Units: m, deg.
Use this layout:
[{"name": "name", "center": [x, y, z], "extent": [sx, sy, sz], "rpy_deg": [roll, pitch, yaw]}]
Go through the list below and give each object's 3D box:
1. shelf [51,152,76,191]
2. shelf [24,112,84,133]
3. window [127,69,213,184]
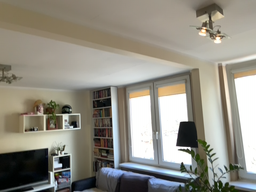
[{"name": "shelf", "center": [-1.370, 1.750, 4.490], "extent": [0.410, 1.030, 0.290], "rpy_deg": [3, -9, -42]}, {"name": "shelf", "center": [-1.540, 0.550, 4.540], "extent": [1.200, 0.370, 0.240], "rpy_deg": [3, -9, -42]}, {"name": "window", "center": [0.660, 0.560, 4.030], "extent": [0.140, 1.800, 1.730], "rpy_deg": [3, -9, -42]}]
